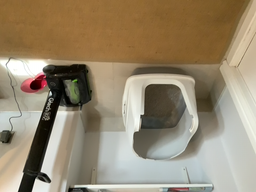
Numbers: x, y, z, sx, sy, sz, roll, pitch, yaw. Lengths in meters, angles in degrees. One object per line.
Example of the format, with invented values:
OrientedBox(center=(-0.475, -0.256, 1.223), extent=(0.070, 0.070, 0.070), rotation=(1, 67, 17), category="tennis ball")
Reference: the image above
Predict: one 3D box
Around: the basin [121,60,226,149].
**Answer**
OrientedBox(center=(0.210, 0.060, 1.270), extent=(0.490, 0.360, 0.390), rotation=(1, 139, -3), category="basin")
